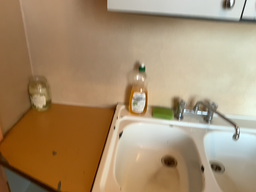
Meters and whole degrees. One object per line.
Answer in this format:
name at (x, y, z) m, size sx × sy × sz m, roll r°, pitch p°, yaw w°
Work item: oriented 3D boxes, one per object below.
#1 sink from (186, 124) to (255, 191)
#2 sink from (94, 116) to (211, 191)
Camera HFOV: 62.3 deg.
sink at (0.500, 0.350, 0.900) m, size 0.400 × 0.160 × 0.490 m, roll 6°, pitch 28°, yaw 3°
sink at (0.100, 0.310, 0.920) m, size 0.400 × 0.160 × 0.490 m, roll 6°, pitch 28°, yaw 3°
